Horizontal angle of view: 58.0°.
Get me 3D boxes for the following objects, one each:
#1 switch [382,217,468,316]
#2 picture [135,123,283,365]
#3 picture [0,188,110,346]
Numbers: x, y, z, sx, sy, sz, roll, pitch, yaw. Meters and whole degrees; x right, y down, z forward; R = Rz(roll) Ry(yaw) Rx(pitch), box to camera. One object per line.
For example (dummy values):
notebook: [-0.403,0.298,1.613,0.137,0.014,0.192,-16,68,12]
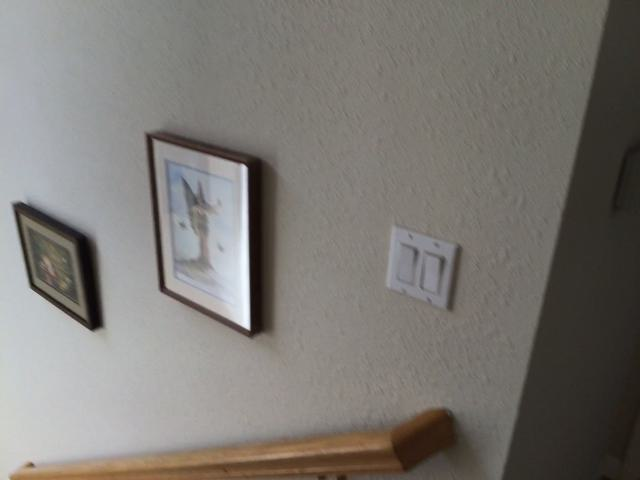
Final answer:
switch: [0.160,0.040,0.900,0.120,0.120,0.020,21,28,33]
picture: [-0.250,0.000,1.230,0.380,0.420,0.050,21,28,33]
picture: [-0.800,0.070,1.730,0.460,0.340,0.060,21,28,33]
